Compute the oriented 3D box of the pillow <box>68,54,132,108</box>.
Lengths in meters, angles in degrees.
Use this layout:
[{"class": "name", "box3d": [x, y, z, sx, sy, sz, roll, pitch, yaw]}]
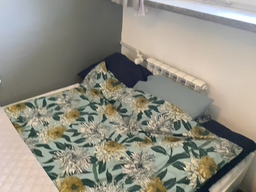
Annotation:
[{"class": "pillow", "box3d": [-0.240, -0.150, 1.840, 0.380, 0.240, 0.390, -22, 40, -35]}]
